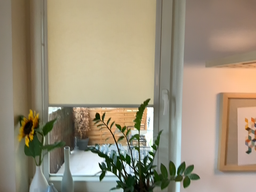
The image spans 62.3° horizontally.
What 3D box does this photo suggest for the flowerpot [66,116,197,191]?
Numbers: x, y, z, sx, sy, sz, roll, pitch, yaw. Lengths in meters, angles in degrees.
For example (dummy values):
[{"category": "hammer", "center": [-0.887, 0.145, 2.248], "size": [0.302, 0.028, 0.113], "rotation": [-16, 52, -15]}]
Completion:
[{"category": "flowerpot", "center": [0.010, 0.420, 1.300], "size": [0.630, 0.500, 0.520], "rotation": [1, 5, -1]}]
